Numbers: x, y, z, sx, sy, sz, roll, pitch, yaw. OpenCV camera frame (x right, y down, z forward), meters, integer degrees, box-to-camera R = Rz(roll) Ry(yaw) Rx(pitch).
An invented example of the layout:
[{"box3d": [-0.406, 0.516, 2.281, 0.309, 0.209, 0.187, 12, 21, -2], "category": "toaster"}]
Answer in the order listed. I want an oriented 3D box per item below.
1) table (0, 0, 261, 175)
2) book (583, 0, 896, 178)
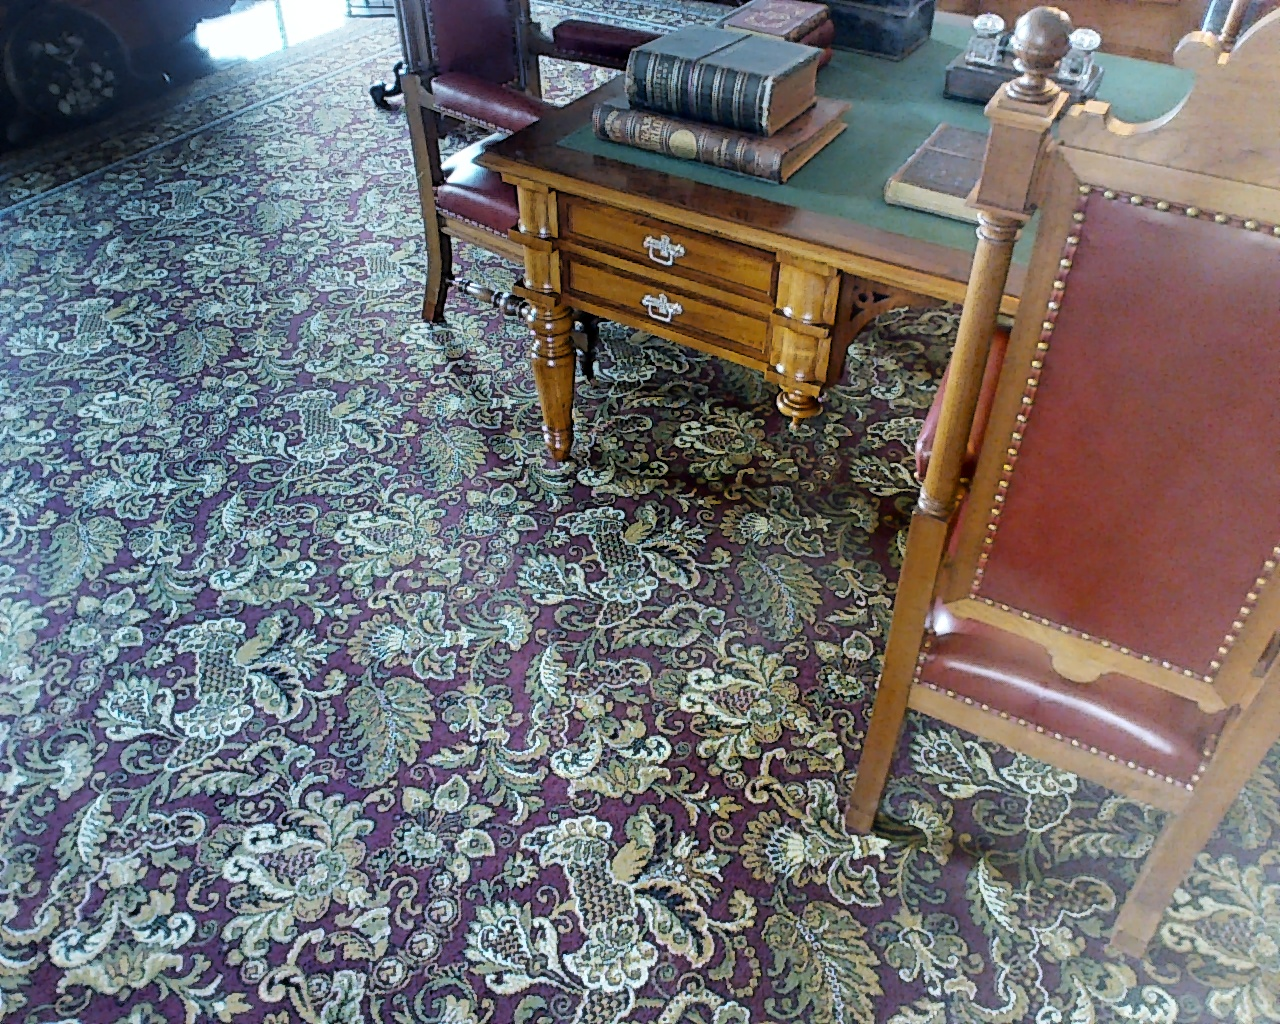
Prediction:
[{"box3d": [-2.230, -1.900, 3.900, 0.880, 0.770, 1.210, 23, 46, 23], "category": "table"}, {"box3d": [0.190, -0.840, 2.060, 0.460, 0.160, 0.380, 23, 46, 23], "category": "book"}]
